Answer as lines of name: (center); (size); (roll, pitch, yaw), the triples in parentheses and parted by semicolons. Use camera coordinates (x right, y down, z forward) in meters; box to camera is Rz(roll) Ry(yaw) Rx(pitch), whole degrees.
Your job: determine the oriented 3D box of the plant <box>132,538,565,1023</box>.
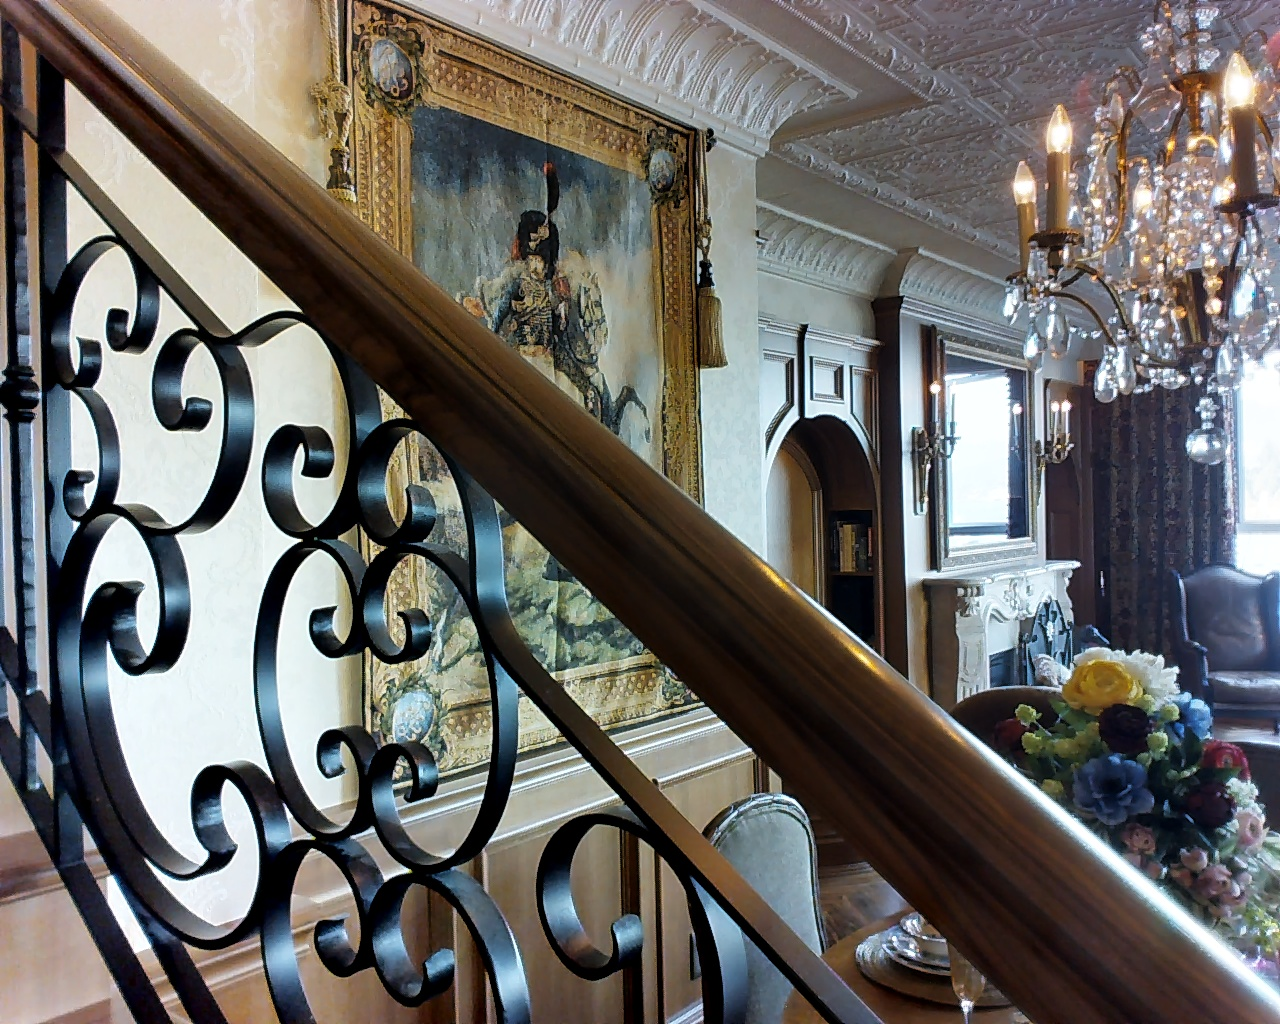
plant: (-0.500, 0.370, 1.730); (0.550, 0.630, 0.620); (-1, 0, -26)
